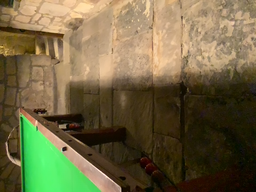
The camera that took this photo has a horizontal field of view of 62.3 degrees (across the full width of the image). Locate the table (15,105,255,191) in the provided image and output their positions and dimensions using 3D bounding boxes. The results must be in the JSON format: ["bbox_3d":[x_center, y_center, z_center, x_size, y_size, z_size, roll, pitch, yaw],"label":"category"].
[{"bbox_3d":[-0.440,1.060,2.150,3.240,0.910,1.700,2,93,57],"label":"table"}]
